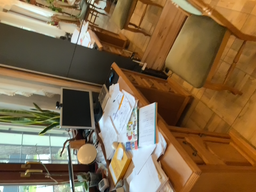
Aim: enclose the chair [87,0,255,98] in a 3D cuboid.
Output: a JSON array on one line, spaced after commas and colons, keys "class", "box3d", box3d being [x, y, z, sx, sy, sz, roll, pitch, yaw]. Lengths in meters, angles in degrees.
[{"class": "chair", "box3d": [0.380, -0.440, 1.490, 0.570, 1.120, 0.470, -67, 31, 20]}]
